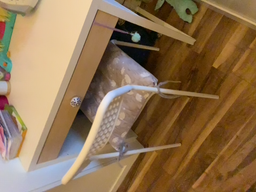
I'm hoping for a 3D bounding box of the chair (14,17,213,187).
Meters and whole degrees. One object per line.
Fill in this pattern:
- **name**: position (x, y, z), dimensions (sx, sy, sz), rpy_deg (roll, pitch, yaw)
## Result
- **chair**: position (-0.010, 0.000, 0.990), dimensions (0.410, 0.770, 0.380), rpy_deg (45, 118, 29)
